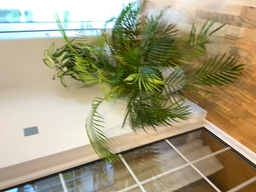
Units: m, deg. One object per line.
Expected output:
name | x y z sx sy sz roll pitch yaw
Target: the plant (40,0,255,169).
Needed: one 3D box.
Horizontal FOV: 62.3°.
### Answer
plant | 0.000 -0.310 1.760 1.310 1.090 0.760 45 138 49
